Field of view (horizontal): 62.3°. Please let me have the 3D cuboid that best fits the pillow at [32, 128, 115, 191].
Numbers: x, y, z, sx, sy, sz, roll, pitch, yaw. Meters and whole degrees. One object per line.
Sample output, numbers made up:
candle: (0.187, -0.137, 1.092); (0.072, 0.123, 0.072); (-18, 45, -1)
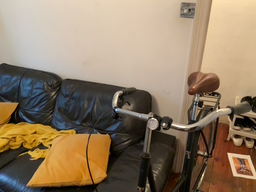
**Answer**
pillow: (-0.330, 0.440, 1.440); (0.460, 0.190, 0.440); (-3, 29, -6)
